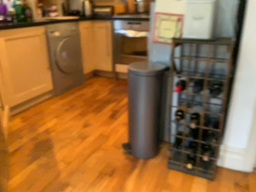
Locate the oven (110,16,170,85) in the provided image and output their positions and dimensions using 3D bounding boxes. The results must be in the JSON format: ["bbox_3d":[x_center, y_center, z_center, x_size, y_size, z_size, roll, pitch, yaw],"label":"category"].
[{"bbox_3d":[0.200,-0.720,3.210,0.680,0.880,0.630,9,25,22],"label":"oven"}]
